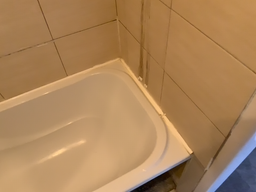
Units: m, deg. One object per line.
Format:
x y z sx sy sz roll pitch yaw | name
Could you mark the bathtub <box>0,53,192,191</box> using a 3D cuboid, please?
-0.500 0.420 1.090 1.380 0.570 0.680 -23 54 -15 | bathtub
